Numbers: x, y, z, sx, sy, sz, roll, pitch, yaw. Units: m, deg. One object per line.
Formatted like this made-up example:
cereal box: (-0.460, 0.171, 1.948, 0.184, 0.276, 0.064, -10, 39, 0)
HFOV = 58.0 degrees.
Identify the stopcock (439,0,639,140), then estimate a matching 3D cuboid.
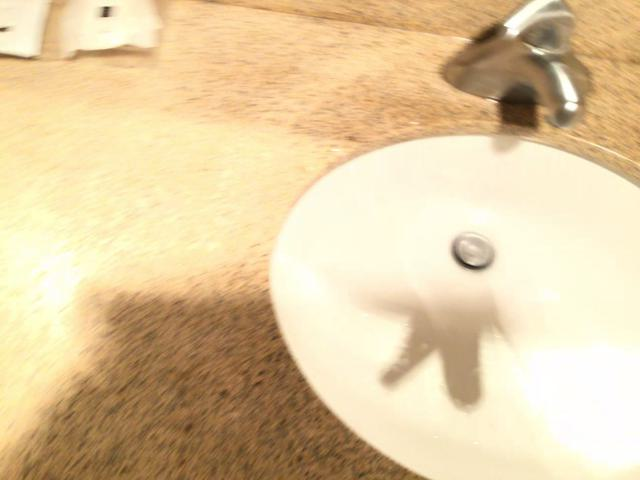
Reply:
stopcock: (0.200, -0.190, 0.540, 0.150, 0.100, 0.140, 8, 62, 1)

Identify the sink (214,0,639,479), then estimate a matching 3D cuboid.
sink: (0.180, 0.010, 0.510, 0.430, 0.290, 0.420, 8, 62, 1)
